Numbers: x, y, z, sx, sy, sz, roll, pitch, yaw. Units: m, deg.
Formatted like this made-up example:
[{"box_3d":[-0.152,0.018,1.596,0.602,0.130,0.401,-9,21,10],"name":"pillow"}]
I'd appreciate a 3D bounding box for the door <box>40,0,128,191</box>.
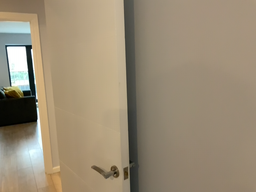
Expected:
[{"box_3d":[-0.280,0.310,1.250,0.040,2.000,0.830,-10,13,-38],"name":"door"}]
